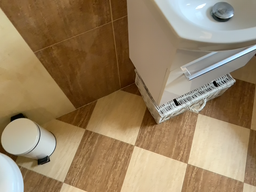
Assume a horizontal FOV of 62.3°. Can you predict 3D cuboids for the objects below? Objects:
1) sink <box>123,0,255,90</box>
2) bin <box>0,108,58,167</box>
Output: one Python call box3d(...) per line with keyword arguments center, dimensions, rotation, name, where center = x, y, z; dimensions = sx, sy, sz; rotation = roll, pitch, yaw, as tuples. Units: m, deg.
box3d(center=(0.290, -0.300, 0.620), dimensions=(0.500, 0.150, 0.370), rotation=(-25, 70, -10), name="sink")
box3d(center=(-0.510, 0.220, 1.080), dimensions=(0.170, 0.250, 0.190), rotation=(-27, 70, -10), name="bin")
